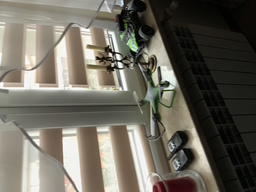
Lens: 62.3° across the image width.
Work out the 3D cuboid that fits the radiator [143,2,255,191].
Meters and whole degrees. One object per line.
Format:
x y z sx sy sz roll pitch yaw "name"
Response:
0.570 0.050 1.000 0.200 0.740 1.080 122 141 -50 "radiator"
